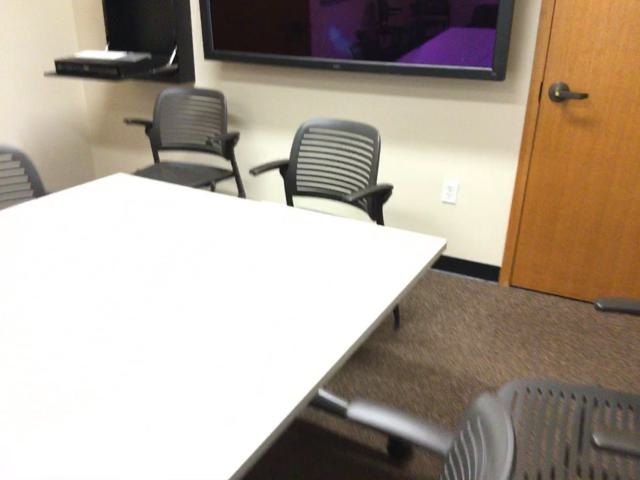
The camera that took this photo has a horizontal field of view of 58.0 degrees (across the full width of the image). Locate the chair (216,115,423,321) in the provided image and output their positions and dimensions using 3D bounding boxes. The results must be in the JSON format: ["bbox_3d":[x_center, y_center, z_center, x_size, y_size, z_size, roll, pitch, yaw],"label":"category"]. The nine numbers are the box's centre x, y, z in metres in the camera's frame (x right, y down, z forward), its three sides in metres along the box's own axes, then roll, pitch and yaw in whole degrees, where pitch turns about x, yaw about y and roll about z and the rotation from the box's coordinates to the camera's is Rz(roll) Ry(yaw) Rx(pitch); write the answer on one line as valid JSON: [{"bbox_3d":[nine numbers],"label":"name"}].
[{"bbox_3d":[-0.010,-0.130,2.330,0.640,0.610,0.480,15,24,28],"label":"chair"}]

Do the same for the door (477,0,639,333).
[{"bbox_3d":[1.290,-0.630,2.140,1.090,2.070,0.130,15,24,28],"label":"door"}]
